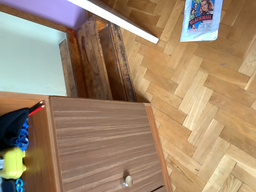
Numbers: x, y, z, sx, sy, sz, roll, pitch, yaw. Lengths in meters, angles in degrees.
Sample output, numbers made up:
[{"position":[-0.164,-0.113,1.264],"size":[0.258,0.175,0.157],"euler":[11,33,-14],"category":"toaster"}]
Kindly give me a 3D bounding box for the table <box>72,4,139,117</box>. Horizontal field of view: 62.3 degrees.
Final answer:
[{"position":[-0.170,-0.230,1.480],"size":[0.290,0.190,0.690],"euler":[-23,73,35],"category":"table"}]
